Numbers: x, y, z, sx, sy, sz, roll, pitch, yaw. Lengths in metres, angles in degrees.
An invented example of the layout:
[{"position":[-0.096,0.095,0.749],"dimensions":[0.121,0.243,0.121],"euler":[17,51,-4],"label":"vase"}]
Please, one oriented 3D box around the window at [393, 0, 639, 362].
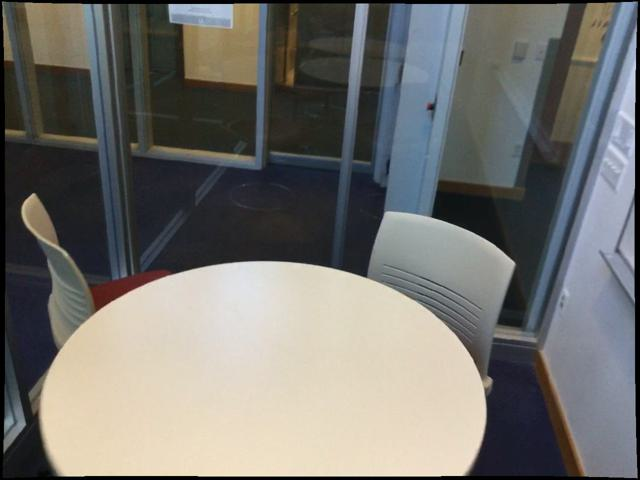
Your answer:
[{"position":[0.819,-0.250,2.640],"dimensions":[0.749,1.661,0.400],"euler":[6,30,3],"label":"window"}]
